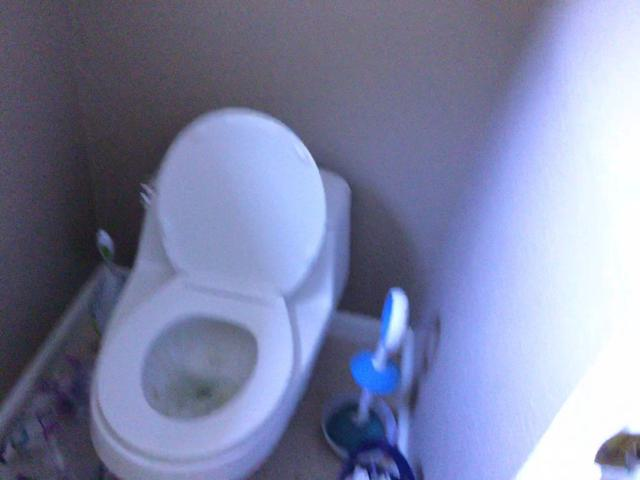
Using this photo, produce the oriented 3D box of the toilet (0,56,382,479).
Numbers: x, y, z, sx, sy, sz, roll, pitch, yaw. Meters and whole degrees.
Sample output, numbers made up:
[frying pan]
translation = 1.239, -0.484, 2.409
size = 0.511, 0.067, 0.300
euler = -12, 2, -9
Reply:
[toilet]
translation = -0.210, 0.100, 1.170
size = 0.500, 0.640, 0.700
euler = 11, 37, 5
